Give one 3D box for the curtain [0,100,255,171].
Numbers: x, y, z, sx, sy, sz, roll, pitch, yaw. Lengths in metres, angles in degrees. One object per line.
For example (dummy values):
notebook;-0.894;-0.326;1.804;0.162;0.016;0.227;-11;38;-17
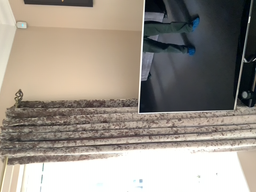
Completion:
curtain;0.210;0.250;1.520;0.250;2.170;0.340;104;162;-52
